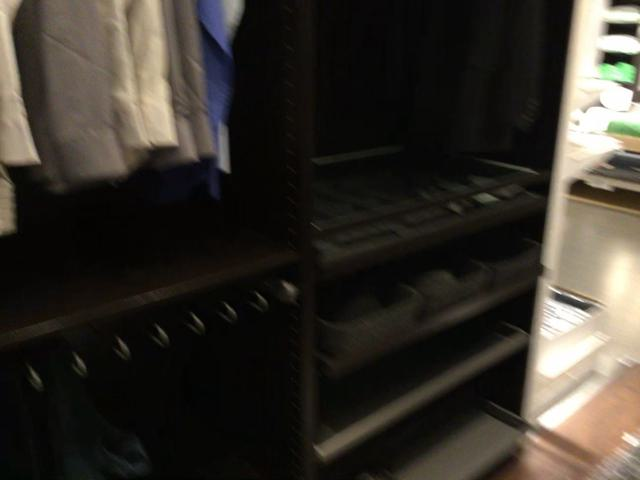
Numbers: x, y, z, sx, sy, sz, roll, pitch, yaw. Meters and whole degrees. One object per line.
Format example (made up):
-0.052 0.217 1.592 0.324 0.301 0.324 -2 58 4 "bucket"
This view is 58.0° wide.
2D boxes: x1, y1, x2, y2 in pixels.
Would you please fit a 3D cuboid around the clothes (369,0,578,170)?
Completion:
0.420 -0.640 1.660 0.280 0.770 0.510 -16 24 -36 "clothes"

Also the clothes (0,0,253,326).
-0.480 -0.400 0.870 0.630 0.980 0.300 -16 24 -36 "clothes"
